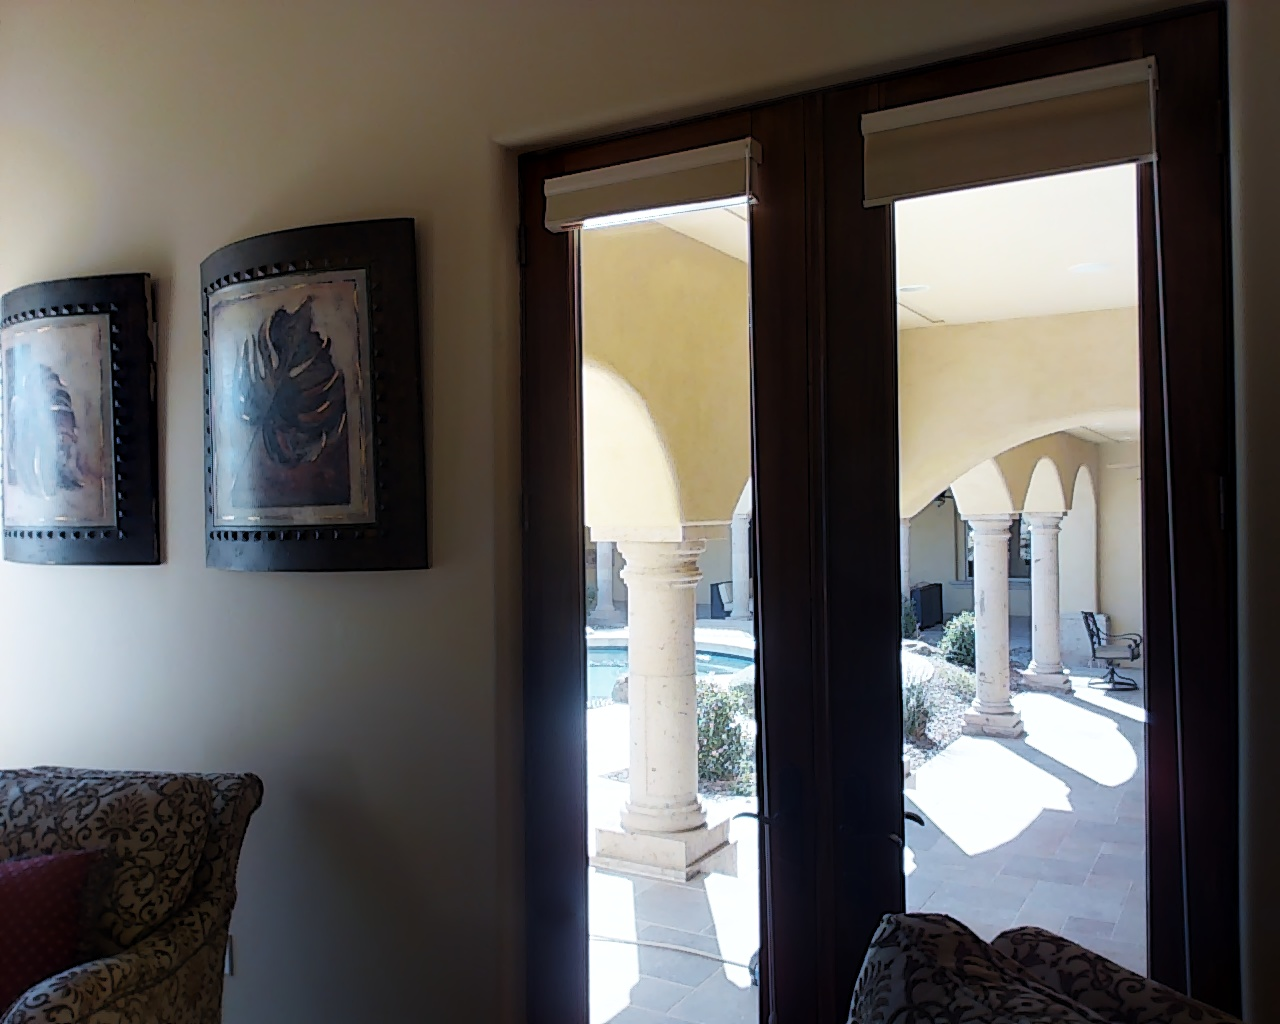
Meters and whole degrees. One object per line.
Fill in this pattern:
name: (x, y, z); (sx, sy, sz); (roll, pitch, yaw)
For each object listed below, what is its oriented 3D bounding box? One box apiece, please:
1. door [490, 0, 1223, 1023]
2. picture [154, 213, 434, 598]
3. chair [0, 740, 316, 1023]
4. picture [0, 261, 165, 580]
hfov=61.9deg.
door: (0.320, 0.340, 2.110); (1.450, 2.330, 0.130); (-1, -1, 30)
picture: (-0.900, -0.240, 2.720); (0.840, 0.880, 0.160); (-1, -1, 30)
chair: (-1.370, 1.090, 2.360); (0.880, 0.930, 1.090); (0, -1, 7)
picture: (-1.770, -0.250, 3.220); (0.830, 0.880, 0.160); (-1, -1, 30)
